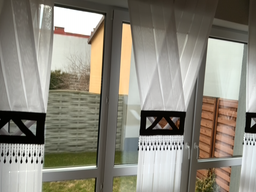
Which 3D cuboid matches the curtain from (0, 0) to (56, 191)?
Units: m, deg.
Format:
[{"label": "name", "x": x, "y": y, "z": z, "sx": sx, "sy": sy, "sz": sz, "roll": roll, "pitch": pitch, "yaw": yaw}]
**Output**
[{"label": "curtain", "x": -0.800, "y": 0.050, "z": 1.370, "sx": 0.570, "sy": 2.480, "sz": 0.180, "roll": 2, "pitch": 5, "yaw": -18}]
